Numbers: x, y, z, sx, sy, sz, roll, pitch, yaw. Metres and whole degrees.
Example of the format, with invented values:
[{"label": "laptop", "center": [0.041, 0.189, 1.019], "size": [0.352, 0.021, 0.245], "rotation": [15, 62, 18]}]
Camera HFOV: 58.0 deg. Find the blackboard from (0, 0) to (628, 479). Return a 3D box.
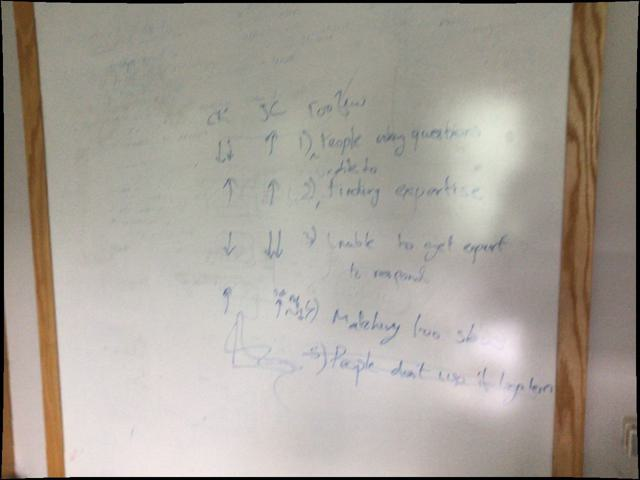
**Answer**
[{"label": "blackboard", "center": [-0.120, 0.040, 1.170], "size": [1.267, 1.243, 0.160], "rotation": [1, 9, 18]}]
